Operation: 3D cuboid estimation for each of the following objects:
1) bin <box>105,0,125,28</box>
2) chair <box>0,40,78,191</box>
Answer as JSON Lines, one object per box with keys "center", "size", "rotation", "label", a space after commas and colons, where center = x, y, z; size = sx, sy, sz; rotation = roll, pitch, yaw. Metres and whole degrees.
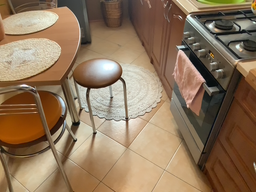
{"center": [-0.180, -1.190, 2.910], "size": [0.250, 0.410, 0.230], "rotation": [-6, 43, -5], "label": "bin"}
{"center": [-0.550, 0.170, 1.170], "size": [0.400, 0.780, 0.440], "rotation": [-8, 43, -7], "label": "chair"}
